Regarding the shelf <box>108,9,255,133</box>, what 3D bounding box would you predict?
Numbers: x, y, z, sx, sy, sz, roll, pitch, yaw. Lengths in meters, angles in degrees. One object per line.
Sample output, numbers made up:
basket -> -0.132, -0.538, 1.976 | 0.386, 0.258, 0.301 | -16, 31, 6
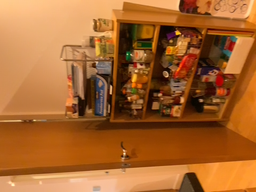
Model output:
shelf -> 0.390, -0.160, 1.720 | 0.290, 1.040, 0.910 | -107, 19, -56
